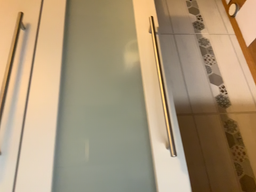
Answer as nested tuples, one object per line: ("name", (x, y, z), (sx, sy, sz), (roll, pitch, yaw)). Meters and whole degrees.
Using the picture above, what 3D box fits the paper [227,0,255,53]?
("paper", (0.590, -0.390, 1.000), (0.340, 0.020, 0.190), (102, 165, -62))
